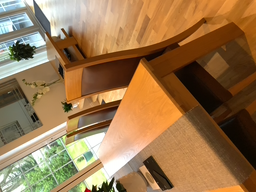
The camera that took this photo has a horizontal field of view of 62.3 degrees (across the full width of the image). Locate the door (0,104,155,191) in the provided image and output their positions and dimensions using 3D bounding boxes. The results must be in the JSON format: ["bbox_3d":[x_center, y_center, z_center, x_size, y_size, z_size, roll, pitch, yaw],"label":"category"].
[{"bbox_3d":[-0.790,1.560,3.380,2.370,2.100,0.160,54,152,15],"label":"door"}]

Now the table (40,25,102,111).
[{"bbox_3d":[-1.010,-0.460,3.680,1.200,0.400,0.790,55,152,13],"label":"table"}]
